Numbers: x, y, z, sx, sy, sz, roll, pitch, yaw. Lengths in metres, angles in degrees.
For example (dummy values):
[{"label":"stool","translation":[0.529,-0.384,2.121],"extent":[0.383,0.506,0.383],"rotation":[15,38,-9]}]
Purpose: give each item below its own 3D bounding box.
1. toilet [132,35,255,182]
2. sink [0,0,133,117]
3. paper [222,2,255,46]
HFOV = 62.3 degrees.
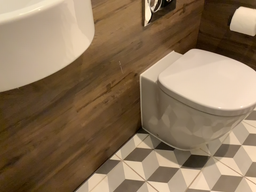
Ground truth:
[{"label":"toilet","translation":[0.340,0.040,1.090],"extent":[0.490,0.450,0.390],"rotation":[31,53,32]},{"label":"sink","translation":[-0.310,-0.200,0.520],"extent":[0.450,0.180,0.460],"rotation":[30,53,31]},{"label":"paper","translation":[0.560,-0.340,0.990],"extent":[0.140,0.120,0.160],"rotation":[31,53,31]}]
